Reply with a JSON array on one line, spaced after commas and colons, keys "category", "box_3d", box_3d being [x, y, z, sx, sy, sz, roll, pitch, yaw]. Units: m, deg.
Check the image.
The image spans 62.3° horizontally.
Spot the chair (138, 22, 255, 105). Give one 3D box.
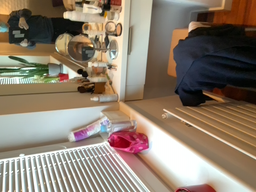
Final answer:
[{"category": "chair", "box_3d": [0.470, -0.220, 1.330, 0.430, 0.650, 0.390, 32, 120, 57]}]
